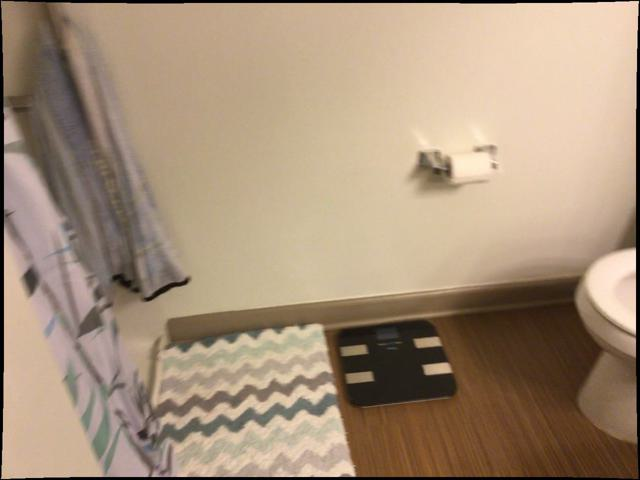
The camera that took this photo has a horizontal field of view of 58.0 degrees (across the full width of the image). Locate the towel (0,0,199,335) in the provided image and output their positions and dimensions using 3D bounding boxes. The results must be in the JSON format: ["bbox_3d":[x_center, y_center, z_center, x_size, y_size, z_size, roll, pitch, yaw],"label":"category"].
[{"bbox_3d":[-0.579,-0.140,1.470,0.379,0.851,0.190,-5,37,-2],"label":"towel"}]

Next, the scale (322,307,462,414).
[{"bbox_3d":[0.200,0.351,1.730,0.359,0.050,0.330,-5,37,-2],"label":"scale"}]
